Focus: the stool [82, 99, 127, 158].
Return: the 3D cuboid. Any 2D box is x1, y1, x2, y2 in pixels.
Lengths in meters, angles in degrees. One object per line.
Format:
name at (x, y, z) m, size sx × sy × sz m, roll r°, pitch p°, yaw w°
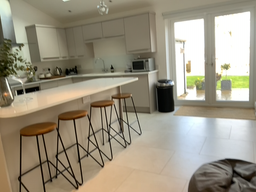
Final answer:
stool at (-0.310, 0.420, 2.950) m, size 0.400 × 0.680 × 0.430 m, roll 2°, pitch 13°, yaw 28°
